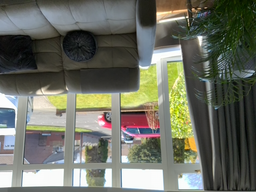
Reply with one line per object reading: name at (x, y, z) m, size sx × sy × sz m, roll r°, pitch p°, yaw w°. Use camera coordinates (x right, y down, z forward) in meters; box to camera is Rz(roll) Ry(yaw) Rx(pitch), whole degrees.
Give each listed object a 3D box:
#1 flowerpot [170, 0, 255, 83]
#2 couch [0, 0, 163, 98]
flowerpot at (0.680, -0.780, 1.310) m, size 0.750 × 1.220 × 0.740 m, roll -3°, pitch 169°, yaw 5°
couch at (-0.650, -0.600, 2.170) m, size 1.830 × 1.010 × 1.040 m, roll -2°, pitch 169°, yaw 3°
